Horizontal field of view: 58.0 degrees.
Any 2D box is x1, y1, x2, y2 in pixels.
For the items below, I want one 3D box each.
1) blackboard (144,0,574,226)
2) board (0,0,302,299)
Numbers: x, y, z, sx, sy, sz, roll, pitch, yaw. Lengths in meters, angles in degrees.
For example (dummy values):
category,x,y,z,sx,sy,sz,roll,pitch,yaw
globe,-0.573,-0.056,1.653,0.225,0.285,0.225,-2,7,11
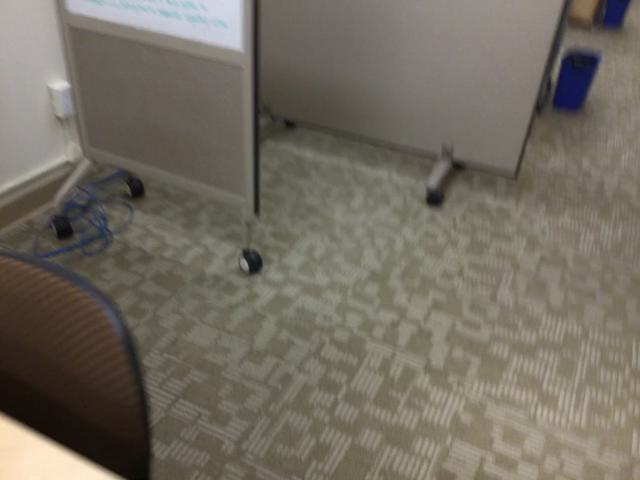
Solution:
category,x,y,z,sx,sy,sz,roll,pitch,yaw
blackboard,0.080,-0.780,2.410,1.670,0.960,0.380,17,34,18
board,-0.500,-0.580,1.730,0.790,1.350,0.380,17,34,18
